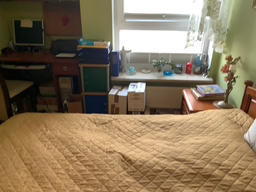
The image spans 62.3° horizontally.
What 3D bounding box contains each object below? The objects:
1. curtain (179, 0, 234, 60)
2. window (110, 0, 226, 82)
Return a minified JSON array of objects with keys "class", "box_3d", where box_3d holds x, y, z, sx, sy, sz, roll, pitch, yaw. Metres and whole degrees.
[{"class":"curtain","box_3d":[0.880,-1.180,2.220,0.470,1.580,0.140,3,25,3]},{"class":"window","box_3d":[0.450,-1.110,2.520,1.310,1.880,0.180,3,25,4]}]
